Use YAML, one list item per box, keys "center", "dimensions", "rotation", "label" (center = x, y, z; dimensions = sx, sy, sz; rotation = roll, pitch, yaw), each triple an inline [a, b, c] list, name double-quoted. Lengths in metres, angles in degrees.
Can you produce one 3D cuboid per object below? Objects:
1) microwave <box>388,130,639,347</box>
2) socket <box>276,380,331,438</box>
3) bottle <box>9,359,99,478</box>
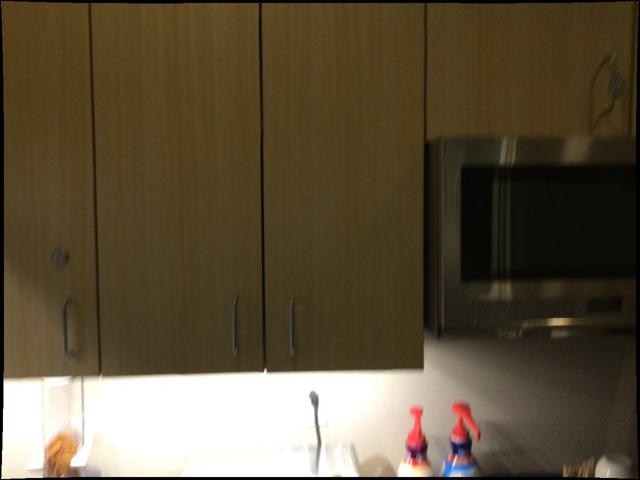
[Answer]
- center: [0.479, -0.030, 1.180]
  dimensions: [0.599, 0.341, 0.400]
  rotation: [-5, 6, -2]
  label: "microwave"
- center: [-0.040, 0.401, 1.370]
  dimensions: [0.120, 0.120, 0.030]
  rotation: [-5, 6, -2]
  label: "socket"
- center: [-0.599, 0.401, 1.310]
  dimensions: [0.130, 0.221, 0.110]
  rotation: [-5, 6, -2]
  label: "bottle"
